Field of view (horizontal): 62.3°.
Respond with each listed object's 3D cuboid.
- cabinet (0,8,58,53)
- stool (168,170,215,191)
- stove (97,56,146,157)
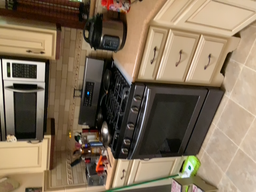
[{"bbox_3d":[-1.030,-0.530,1.580,0.350,0.950,0.210,-123,41,-56],"label":"cabinet"},{"bbox_3d":[0.600,0.960,2.060,0.320,0.280,0.340,-169,82,-69],"label":"stool"},{"bbox_3d":[-0.110,0.070,2.050,0.680,0.160,0.720,-123,41,-56],"label":"stove"}]
